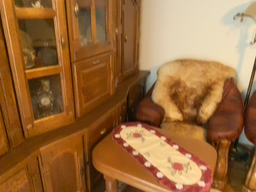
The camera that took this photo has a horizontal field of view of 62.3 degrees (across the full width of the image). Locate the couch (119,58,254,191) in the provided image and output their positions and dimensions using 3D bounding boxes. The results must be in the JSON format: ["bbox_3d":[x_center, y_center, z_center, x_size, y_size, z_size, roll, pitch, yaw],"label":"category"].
[{"bbox_3d":[0.580,0.210,2.190,1.020,0.930,0.930,11,25,23],"label":"couch"}]

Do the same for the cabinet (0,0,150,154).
[{"bbox_3d":[-0.370,-0.560,1.520,0.660,1.300,1.230,11,25,23],"label":"cabinet"}]

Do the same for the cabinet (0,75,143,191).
[{"bbox_3d":[-0.400,0.390,1.930,0.630,0.770,1.230,11,25,23],"label":"cabinet"}]
